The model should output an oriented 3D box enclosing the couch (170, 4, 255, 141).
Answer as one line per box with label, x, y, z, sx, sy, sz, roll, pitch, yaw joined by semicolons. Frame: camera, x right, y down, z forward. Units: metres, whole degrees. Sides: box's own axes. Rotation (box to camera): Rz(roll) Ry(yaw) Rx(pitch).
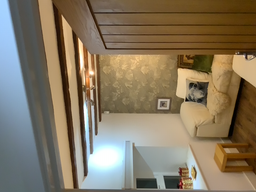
couch;1.270;-0.410;3.570;1.050;0.740;2.050;-91;1;-65
